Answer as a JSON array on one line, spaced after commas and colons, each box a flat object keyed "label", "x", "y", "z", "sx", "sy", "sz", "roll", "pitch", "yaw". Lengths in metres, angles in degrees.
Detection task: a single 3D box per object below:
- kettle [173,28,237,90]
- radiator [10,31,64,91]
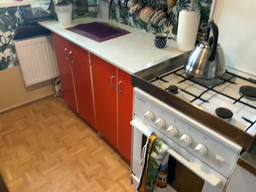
[{"label": "kettle", "x": 0.370, "y": -0.190, "z": 1.050, "sx": 0.180, "sy": 0.220, "sz": 0.190, "roll": -25, "pitch": 42, "yaw": -35}, {"label": "radiator", "x": -0.880, "y": -0.350, "z": 2.110, "sx": 0.390, "sy": 0.500, "sz": 0.140, "roll": -19, "pitch": 39, "yaw": -29}]
